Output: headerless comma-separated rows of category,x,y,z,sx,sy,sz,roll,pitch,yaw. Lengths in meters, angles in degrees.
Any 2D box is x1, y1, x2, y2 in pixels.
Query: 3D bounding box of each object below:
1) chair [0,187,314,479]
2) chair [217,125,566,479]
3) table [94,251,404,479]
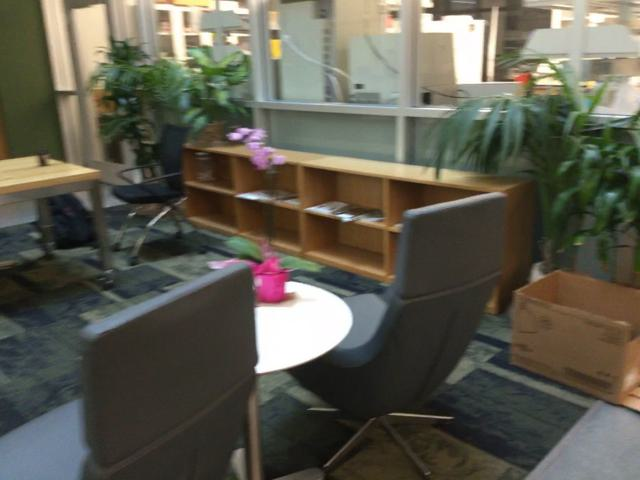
chair,-0.550,0.410,1.330,0.730,0.840,0.750,15,21,31
chair,0.170,0.210,2.100,0.710,1.100,0.920,-10,23,-37
table,-0.220,0.520,1.750,0.610,0.730,0.630,20,24,41
